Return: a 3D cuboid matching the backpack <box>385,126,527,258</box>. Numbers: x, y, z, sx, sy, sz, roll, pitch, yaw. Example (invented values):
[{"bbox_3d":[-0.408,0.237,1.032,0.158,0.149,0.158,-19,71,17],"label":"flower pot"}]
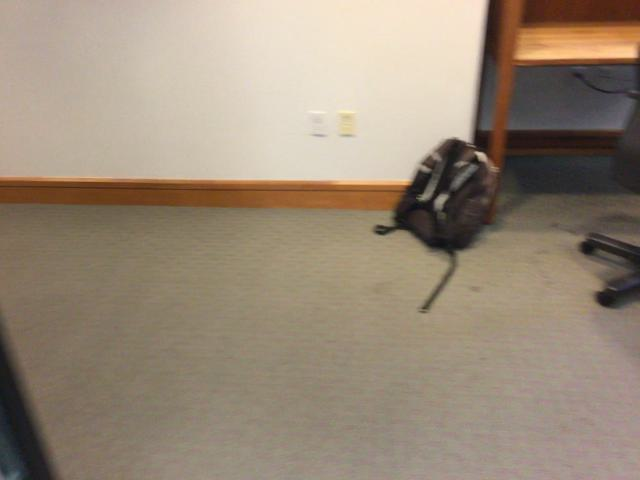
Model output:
[{"bbox_3d":[0.570,-0.210,2.530,0.370,0.420,0.410,0,33,-16],"label":"backpack"}]
